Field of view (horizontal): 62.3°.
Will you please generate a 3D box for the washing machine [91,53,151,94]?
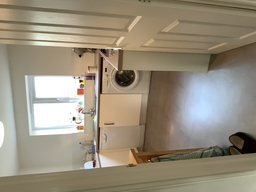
[{"bbox_3d":[-0.150,-0.410,3.690,0.610,0.900,0.580,-130,41,-66],"label":"washing machine"}]
